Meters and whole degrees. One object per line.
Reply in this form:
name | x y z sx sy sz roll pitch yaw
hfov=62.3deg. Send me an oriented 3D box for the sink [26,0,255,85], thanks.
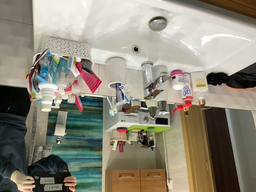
sink | 0.120 -0.220 0.770 0.870 0.130 0.370 6 159 -21
